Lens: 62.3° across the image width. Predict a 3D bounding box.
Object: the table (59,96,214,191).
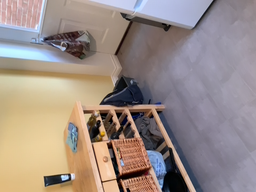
[{"bbox_3d":[0.010,0.540,1.680,0.560,0.840,0.930,-55,45,42],"label":"table"}]
